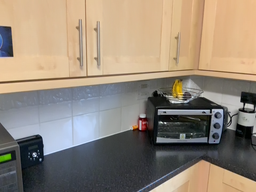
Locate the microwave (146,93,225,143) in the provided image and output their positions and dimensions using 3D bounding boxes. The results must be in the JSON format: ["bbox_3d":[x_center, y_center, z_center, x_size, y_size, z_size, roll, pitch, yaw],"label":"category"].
[{"bbox_3d":[0.390,0.140,1.640,0.440,0.220,0.540,1,12,-2],"label":"microwave"}]
